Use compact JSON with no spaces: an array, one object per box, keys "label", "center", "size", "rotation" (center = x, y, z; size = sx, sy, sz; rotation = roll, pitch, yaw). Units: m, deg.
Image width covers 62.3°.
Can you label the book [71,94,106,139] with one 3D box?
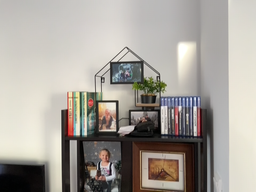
[{"label":"book","center":[-0.190,0.090,1.070],"size":[0.090,0.200,0.250],"rotation":[0,1,9]}]
